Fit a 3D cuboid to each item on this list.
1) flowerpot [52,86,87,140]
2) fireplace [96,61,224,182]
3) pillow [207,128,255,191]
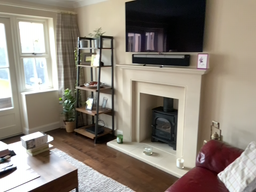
[{"bbox_3d":[-1.090,0.300,4.010,0.300,0.880,0.500,12,17,42],"label":"flowerpot"},{"bbox_3d":[0.420,0.180,3.140,1.460,1.270,1.020,11,17,41],"label":"fireplace"},{"bbox_3d":[0.830,0.590,1.570,0.250,0.420,0.510,-19,35,13],"label":"pillow"}]
